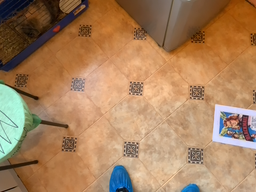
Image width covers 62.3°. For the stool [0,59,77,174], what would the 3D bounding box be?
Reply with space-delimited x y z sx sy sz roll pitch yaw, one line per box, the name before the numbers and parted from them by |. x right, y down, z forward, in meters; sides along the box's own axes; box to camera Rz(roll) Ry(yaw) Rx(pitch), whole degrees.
stool | -0.540 0.120 1.020 0.330 0.470 0.340 -39 79 -6
